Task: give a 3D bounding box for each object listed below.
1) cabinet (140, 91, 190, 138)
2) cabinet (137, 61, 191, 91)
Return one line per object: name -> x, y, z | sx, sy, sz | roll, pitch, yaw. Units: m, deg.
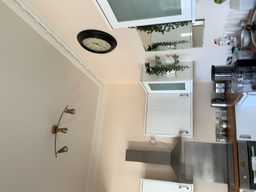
cabinet -> 0.650, 0.310, 3.640 | 0.300, 0.780, 0.720 | 49, -136, -67
cabinet -> 0.600, -0.300, 3.420 | 0.490, 0.790, 0.310 | 48, -136, -68
